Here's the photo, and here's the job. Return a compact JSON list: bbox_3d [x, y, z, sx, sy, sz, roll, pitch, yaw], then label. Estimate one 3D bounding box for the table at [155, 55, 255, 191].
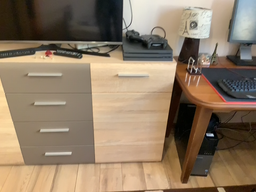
[{"bbox_3d":[0.860,0.170,1.560,1.140,0.710,0.700,0,30,-5],"label":"table"}]
